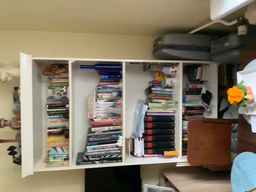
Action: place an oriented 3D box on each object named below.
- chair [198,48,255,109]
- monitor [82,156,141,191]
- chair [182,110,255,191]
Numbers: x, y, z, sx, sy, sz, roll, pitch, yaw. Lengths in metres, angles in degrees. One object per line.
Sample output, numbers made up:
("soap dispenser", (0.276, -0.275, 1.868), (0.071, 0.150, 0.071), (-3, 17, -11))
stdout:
("chair", (1.000, -0.140, 1.750), (0.430, 0.660, 0.430), (-148, 59, -78))
("monitor", (-0.160, 1.060, 2.050), (0.030, 0.550, 0.950), (-161, 72, -79))
("chair", (0.930, 0.360, 1.570), (0.580, 0.850, 0.450), (-170, 81, -80))
